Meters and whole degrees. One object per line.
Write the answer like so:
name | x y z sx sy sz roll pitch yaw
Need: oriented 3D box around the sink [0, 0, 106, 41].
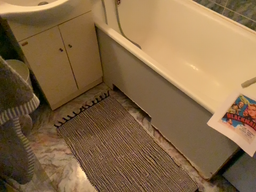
sink | -0.440 -0.550 1.110 0.500 0.160 0.400 -35 60 -25

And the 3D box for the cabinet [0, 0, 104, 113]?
cabinet | -0.480 -0.320 1.460 0.480 0.750 0.300 -35 60 -25

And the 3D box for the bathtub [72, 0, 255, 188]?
bathtub | 0.310 -0.220 1.500 0.660 0.600 1.390 -33 59 -24
